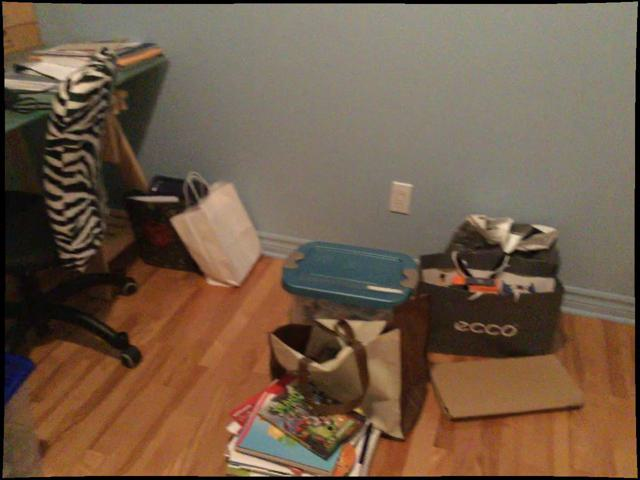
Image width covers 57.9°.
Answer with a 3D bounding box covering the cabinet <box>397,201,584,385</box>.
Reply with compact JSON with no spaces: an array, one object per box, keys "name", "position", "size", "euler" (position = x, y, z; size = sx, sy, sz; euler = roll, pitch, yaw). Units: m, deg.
[{"name":"cabinet","position":[0.509,0.150,1.780],"size":[0.460,0.380,0.300],"euler":[10,33,15]}]
